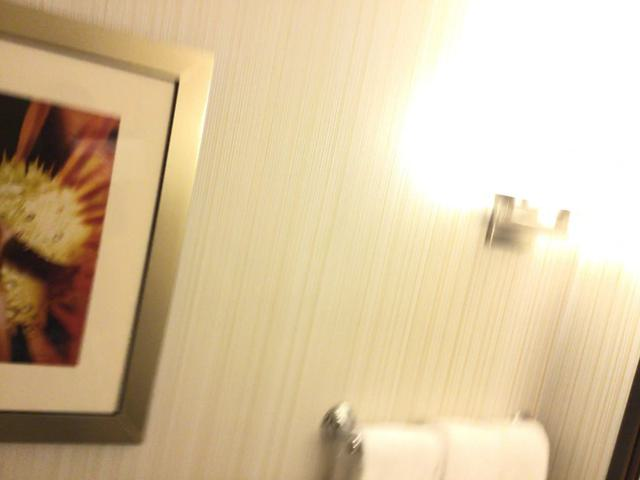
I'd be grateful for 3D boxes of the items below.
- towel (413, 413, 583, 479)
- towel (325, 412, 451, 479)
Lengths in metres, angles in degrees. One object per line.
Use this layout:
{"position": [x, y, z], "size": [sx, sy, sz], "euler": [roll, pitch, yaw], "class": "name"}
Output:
{"position": [0.340, 0.480, 1.140], "size": [0.270, 0.210, 0.130], "euler": [13, 5, -23], "class": "towel"}
{"position": [0.120, 0.450, 1.100], "size": [0.170, 0.190, 0.120], "euler": [13, 5, -23], "class": "towel"}
